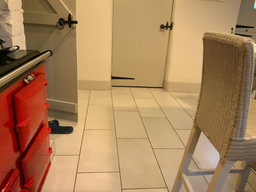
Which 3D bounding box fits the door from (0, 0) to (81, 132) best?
[{"bbox_3d":[-0.830,-0.660,1.870,0.830,2.000,0.090,9,21,15],"label":"door"}]
